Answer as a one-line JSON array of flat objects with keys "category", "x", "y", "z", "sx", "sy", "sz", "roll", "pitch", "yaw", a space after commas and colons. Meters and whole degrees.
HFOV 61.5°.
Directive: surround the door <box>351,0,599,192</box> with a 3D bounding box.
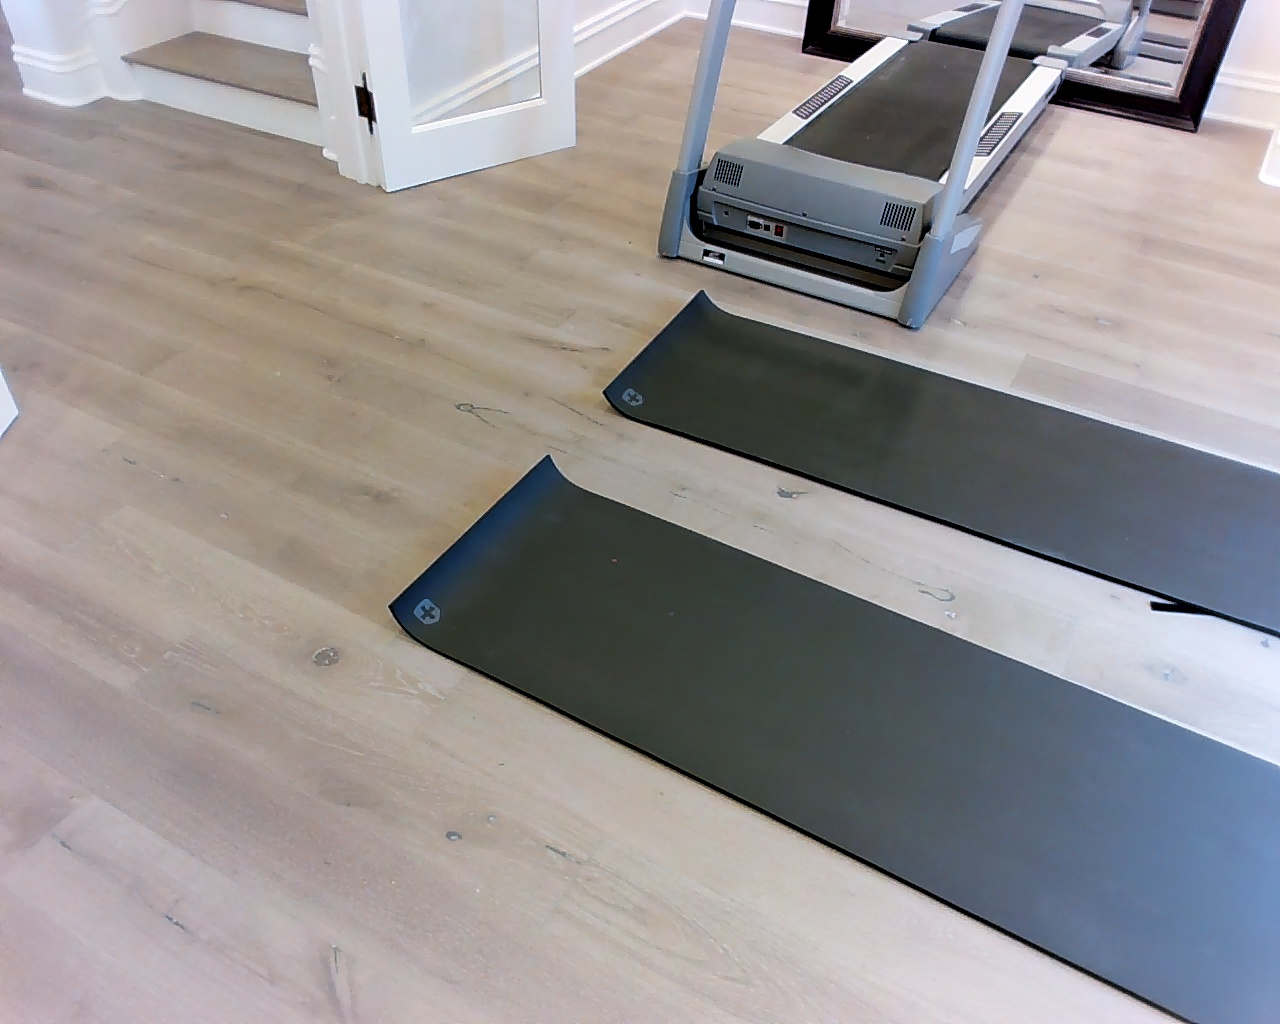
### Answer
[{"category": "door", "x": -0.490, "y": -2.180, "z": 3.100, "sx": 0.840, "sy": 2.410, "sz": 0.140, "roll": -24, "pitch": 48, "yaw": -28}]
